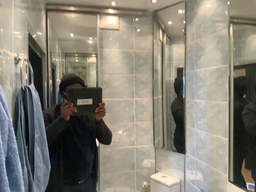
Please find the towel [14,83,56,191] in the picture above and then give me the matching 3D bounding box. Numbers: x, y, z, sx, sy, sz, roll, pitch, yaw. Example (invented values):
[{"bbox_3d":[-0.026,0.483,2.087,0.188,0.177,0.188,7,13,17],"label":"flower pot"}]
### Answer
[{"bbox_3d":[-0.420,0.220,0.990,0.130,0.550,0.240,-1,2,-13],"label":"towel"}]
